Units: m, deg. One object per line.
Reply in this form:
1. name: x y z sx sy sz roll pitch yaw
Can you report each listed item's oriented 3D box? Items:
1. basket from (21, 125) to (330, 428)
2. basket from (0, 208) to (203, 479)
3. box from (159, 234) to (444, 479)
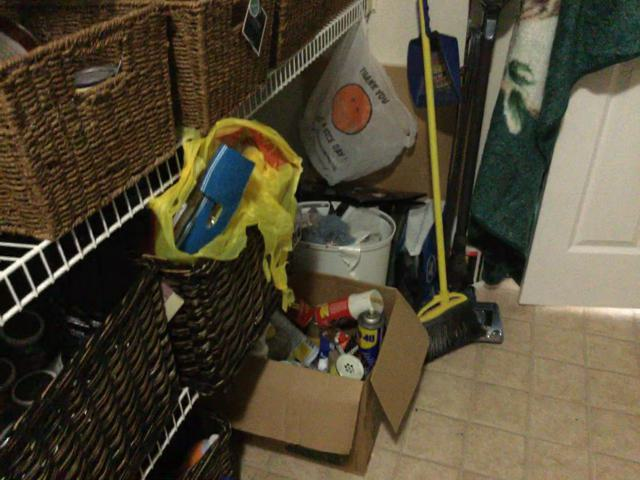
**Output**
1. basket: -0.220 0.040 1.090 0.360 0.340 0.400 10 36 17
2. basket: -0.420 0.200 0.800 0.320 0.290 0.390 10 36 17
3. box: -0.010 0.320 1.450 0.520 0.390 0.490 10 36 17
